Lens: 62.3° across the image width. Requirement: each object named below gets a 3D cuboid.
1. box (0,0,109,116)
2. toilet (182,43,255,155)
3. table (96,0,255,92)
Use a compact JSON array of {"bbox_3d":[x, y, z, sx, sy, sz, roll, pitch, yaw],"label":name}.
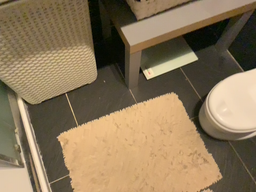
[{"bbox_3d":[-0.350,-0.240,0.830,0.430,0.610,0.310,-21,68,-11],"label":"box"},{"bbox_3d":[0.510,0.000,0.870,0.400,0.400,0.260,-23,68,-12],"label":"toilet"},{"bbox_3d":[0.200,-0.360,1.030,0.600,0.390,0.360,-22,68,-11],"label":"table"}]
